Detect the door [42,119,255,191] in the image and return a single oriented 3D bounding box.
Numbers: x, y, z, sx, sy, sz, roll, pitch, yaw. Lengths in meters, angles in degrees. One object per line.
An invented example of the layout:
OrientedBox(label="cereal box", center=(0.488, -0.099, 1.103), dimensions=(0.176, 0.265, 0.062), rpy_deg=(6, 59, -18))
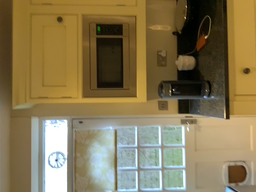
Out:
OrientedBox(label="door", center=(0.320, 0.630, 2.100), dimensions=(0.070, 2.260, 0.760), rpy_deg=(179, 91, -86))
